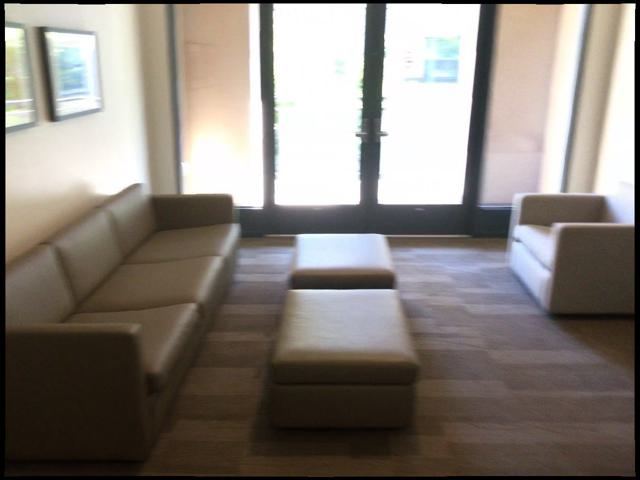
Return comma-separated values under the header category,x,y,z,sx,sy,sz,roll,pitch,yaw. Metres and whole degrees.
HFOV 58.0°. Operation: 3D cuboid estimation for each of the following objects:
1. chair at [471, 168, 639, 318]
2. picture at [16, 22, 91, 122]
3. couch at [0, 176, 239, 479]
category,x,y,z,sx,sy,sz,roll,pitch,yaw
chair,1.697,-0.030,3.960,0.978,0.711,1.070,0,19,-1
picture,-1.537,-0.992,3.380,0.080,0.511,0.660,0,19,-1
couch,-1.098,0.251,3.140,0.998,0.711,2.270,0,19,-1
